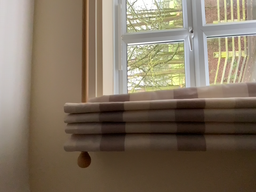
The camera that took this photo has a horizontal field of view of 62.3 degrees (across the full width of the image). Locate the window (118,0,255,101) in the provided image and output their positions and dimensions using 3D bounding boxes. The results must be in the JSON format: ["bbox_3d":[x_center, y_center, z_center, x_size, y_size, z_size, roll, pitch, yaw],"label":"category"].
[{"bbox_3d":[0.410,-0.400,1.210,0.060,0.940,0.820,48,-139,-77],"label":"window"}]
